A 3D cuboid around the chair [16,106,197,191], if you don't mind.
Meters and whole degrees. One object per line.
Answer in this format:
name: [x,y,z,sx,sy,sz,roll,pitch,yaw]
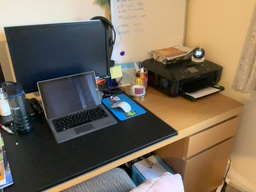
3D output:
chair: [-0.120,0.550,0.970,0.490,0.750,0.550,-16,30,-28]
